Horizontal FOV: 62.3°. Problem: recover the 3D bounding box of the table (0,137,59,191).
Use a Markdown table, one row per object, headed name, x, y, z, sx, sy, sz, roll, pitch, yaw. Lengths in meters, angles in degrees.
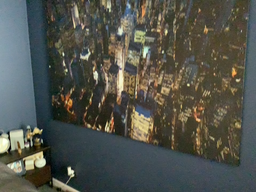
| name | x | y | z | sx | sy | sz | roll | pitch | yaw |
| --- | --- | --- | --- | --- | --- | --- | --- | --- | --- |
| table | -1.210 | 0.890 | 2.560 | 0.380 | 0.590 | 0.560 | 6 | 12 | 37 |
